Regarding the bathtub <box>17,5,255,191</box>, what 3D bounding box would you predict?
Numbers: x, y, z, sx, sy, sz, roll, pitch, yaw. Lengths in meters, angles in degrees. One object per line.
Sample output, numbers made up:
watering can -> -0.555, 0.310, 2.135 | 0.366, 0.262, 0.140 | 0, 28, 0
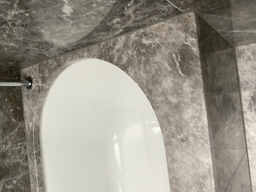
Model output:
bathtub -> 0.090, 0.650, 0.870 | 0.750, 0.550, 1.640 | -8, 88, 35
